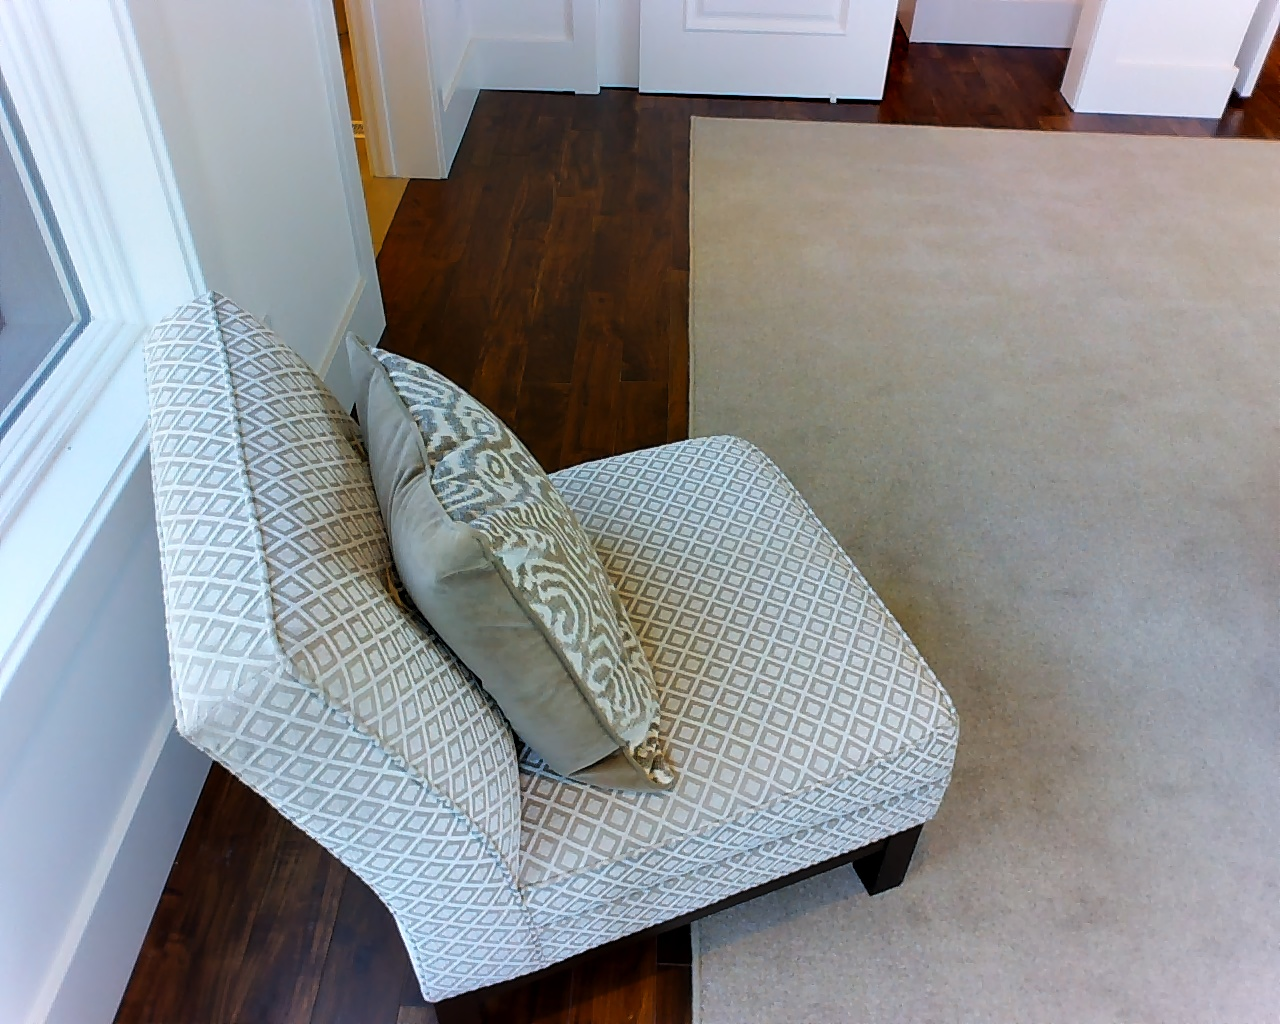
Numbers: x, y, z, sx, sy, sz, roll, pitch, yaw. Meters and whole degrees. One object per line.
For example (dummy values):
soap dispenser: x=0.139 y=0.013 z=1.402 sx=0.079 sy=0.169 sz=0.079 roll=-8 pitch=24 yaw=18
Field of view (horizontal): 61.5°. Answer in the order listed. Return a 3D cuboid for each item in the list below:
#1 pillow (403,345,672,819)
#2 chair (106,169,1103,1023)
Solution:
pillow: x=-0.160 y=0.040 z=1.330 sx=0.200 sy=0.430 sz=0.540 roll=0 pitch=14 yaw=-18
chair: x=-0.100 y=0.150 z=1.500 sx=0.940 sy=0.880 sz=0.700 roll=-13 pitch=44 yaw=-16
